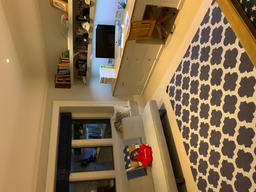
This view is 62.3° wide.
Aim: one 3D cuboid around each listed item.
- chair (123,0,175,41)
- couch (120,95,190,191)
[{"bbox_3d":[0.360,-1.410,3.890,0.540,0.750,0.490,106,159,-48],"label":"chair"},{"bbox_3d":[0.370,0.940,3.860,0.890,0.700,1.700,108,158,-52],"label":"couch"}]
